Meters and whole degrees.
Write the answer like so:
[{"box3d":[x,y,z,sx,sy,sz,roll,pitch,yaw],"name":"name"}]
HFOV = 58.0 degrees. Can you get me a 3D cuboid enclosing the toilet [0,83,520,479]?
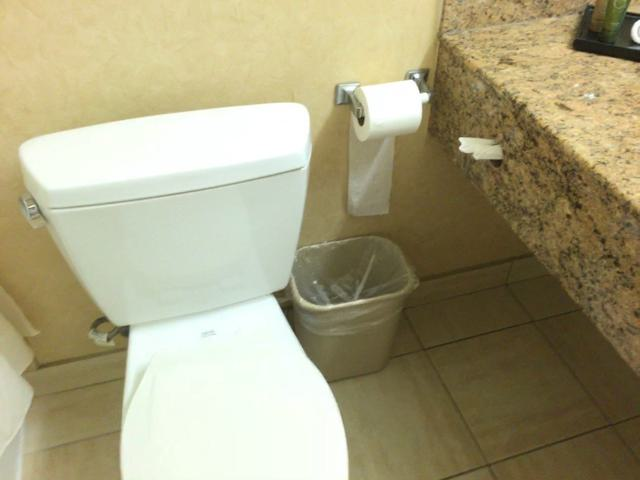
[{"box3d":[-0.170,0.260,1.030,0.510,0.730,0.760,-12,43,-15],"name":"toilet"}]
